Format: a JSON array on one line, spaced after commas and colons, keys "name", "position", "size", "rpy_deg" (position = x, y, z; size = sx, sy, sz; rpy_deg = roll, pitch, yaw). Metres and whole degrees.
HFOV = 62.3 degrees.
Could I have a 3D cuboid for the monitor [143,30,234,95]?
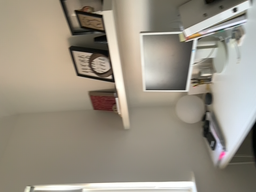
[{"name": "monitor", "position": [0.360, -0.200, 1.430], "size": [0.520, 0.510, 0.050], "rpy_deg": [86, -173, -49]}]
